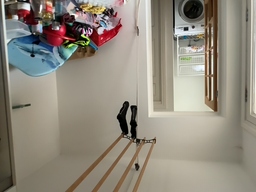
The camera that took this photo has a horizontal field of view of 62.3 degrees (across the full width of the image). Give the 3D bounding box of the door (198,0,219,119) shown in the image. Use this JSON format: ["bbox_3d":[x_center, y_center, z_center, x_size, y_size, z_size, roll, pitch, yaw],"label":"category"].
[{"bbox_3d":[1.080,-0.770,2.890,0.140,2.050,0.690,-1,-175,10],"label":"door"}]
